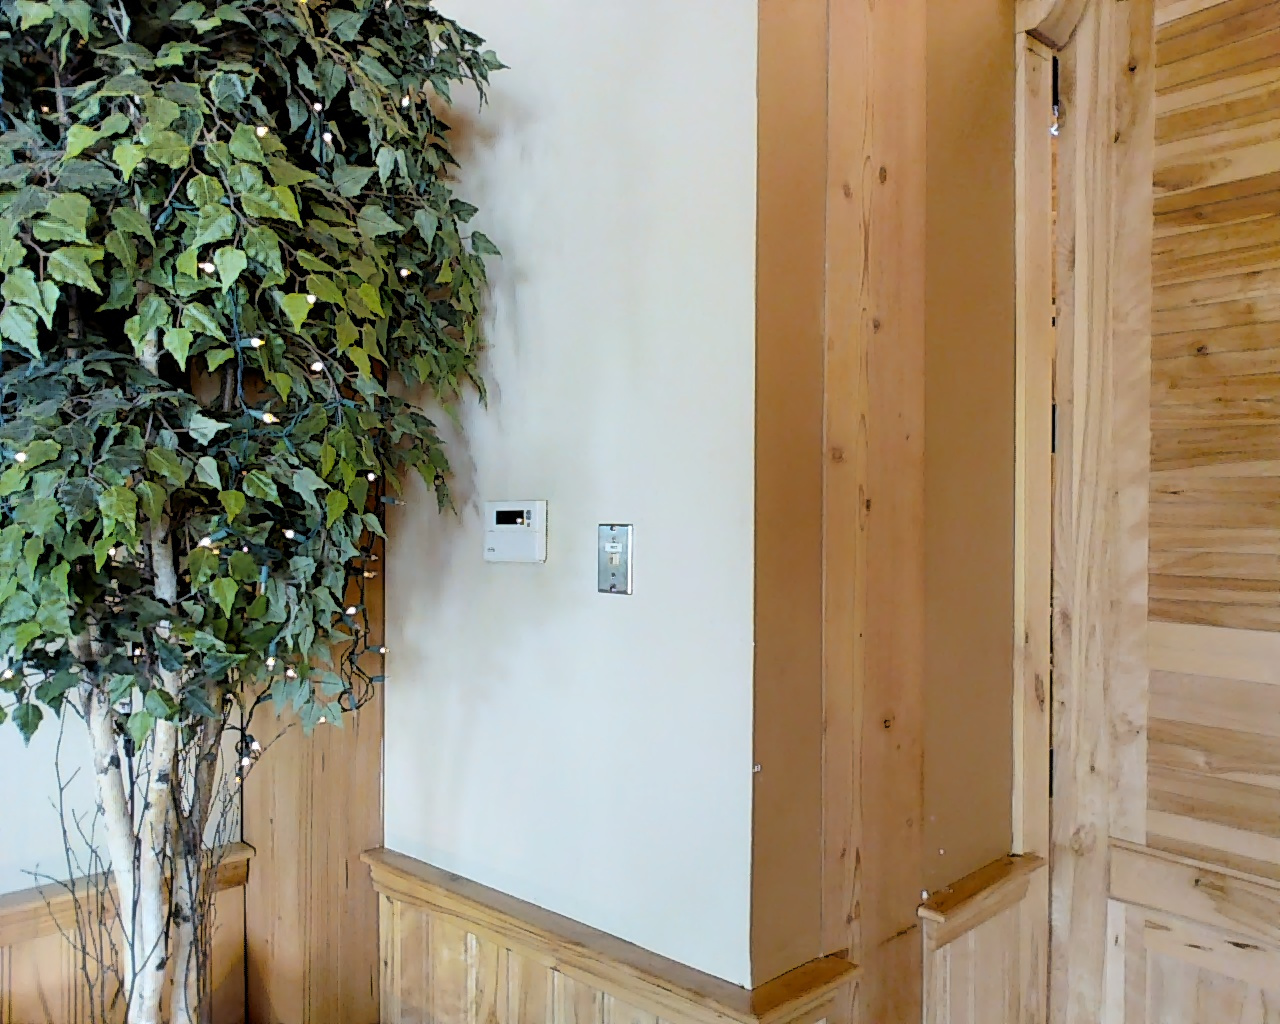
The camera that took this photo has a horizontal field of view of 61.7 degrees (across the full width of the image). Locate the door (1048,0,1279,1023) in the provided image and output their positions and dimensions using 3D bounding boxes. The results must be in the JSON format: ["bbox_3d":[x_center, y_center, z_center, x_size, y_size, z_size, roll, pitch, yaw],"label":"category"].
[{"bbox_3d":[1.180,0.070,1.900,0.140,2.580,0.920,0,0,-37],"label":"door"}]
